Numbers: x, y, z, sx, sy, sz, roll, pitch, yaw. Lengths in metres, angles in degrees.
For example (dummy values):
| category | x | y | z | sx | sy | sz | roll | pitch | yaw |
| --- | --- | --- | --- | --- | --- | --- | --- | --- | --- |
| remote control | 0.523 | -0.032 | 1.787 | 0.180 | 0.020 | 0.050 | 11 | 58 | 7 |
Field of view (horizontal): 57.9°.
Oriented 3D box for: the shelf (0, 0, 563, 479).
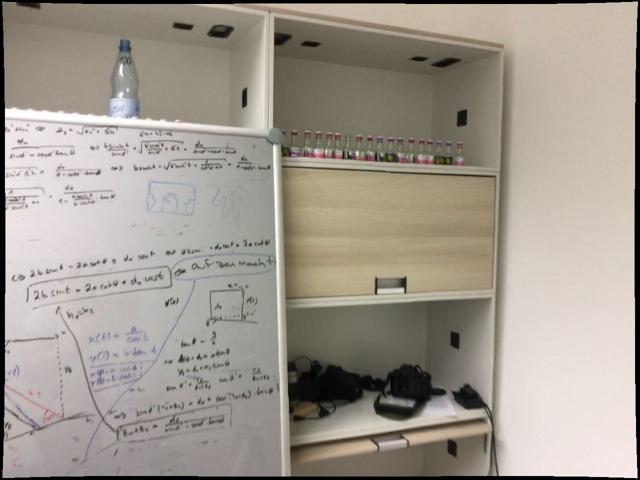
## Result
| category | x | y | z | sx | sy | sz | roll | pitch | yaw |
| --- | --- | --- | --- | --- | --- | --- | --- | --- | --- |
| shelf | -0.240 | 0.340 | 1.760 | 1.708 | 2.192 | 0.600 | 0 | 5 | -17 |
